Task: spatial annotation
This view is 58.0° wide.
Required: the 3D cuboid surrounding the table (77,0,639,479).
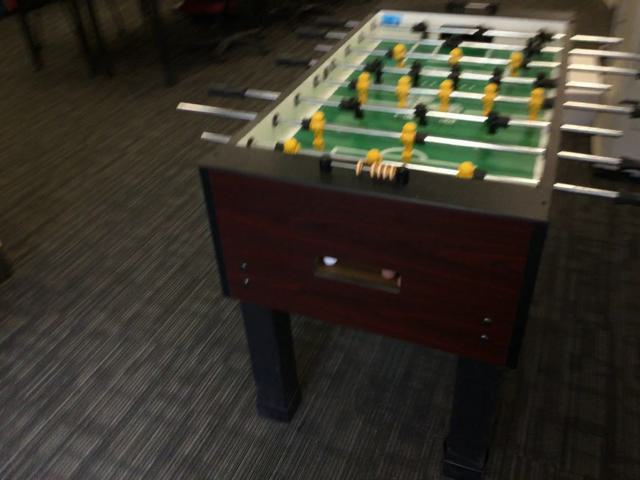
[{"bbox_3d":[0.320,-0.130,1.880,1.240,0.950,1.390,11,40,20],"label":"table"}]
